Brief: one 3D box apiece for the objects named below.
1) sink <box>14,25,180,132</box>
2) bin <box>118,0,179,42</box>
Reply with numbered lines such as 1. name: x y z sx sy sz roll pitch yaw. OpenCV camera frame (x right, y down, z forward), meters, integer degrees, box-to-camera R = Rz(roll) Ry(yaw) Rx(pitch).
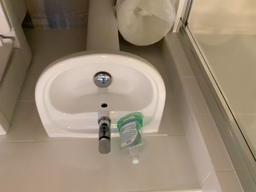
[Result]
1. sink: -0.090 -0.050 0.760 0.450 0.170 0.340 -2 138 -4
2. bin: 0.090 -0.480 1.120 0.280 0.250 0.270 -4 138 -3
